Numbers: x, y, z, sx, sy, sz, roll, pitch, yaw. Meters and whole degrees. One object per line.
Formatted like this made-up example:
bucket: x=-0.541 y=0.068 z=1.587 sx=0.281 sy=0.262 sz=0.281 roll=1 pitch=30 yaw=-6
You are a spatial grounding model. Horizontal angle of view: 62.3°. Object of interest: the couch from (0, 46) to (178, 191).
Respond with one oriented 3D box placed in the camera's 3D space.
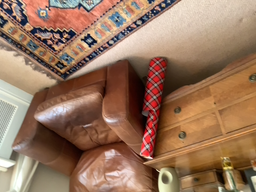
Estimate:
couch: x=-0.270 y=0.390 z=1.830 sx=1.020 sy=0.840 sz=1.010 roll=-18 pitch=138 yaw=22
